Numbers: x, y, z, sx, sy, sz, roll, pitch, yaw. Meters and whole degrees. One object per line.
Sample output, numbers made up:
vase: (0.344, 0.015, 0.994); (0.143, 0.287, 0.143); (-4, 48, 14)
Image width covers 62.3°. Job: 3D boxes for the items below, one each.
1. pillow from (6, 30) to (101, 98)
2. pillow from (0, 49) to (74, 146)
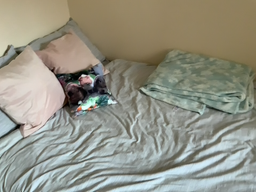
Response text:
pillow: (-0.490, -0.250, 1.480); (0.440, 0.280, 0.380); (13, 35, 20)
pillow: (-0.620, -0.030, 1.160); (0.440, 0.270, 0.410); (14, 35, 21)
